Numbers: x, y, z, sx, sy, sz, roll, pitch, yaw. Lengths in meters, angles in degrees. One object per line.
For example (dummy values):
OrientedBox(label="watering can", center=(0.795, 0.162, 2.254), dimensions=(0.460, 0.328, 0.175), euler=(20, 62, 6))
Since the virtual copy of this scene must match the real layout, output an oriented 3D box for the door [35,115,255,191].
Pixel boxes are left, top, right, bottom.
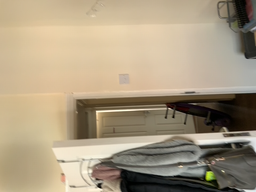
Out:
OrientedBox(label="door", center=(0.510, 0.510, 1.580), dimensions=(1.000, 2.020, 0.150), euler=(94, 172, -49))
